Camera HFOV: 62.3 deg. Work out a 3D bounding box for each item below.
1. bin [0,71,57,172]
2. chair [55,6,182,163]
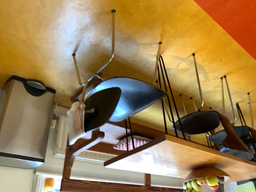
[{"bbox_3d":[-0.840,0.210,1.710,0.360,0.680,0.300,22,139,-36],"label":"bin"},{"bbox_3d":[-0.080,-0.040,1.340,0.510,0.740,0.460,22,139,-36],"label":"chair"}]
